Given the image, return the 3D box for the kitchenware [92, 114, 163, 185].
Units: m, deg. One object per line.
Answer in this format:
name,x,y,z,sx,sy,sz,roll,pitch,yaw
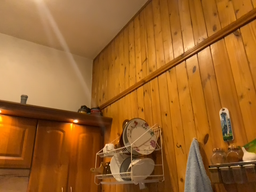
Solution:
kitchenware,-0.040,0.430,1.580,0.220,0.420,0.630,11,-24,-28
